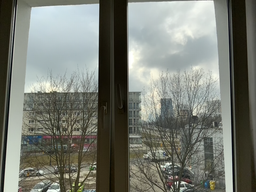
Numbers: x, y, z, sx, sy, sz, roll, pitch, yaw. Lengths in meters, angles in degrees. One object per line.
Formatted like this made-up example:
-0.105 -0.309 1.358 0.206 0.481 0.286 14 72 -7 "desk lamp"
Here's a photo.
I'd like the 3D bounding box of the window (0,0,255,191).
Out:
-0.060 0.080 1.240 1.500 1.710 0.170 0 -7 2 "window"
